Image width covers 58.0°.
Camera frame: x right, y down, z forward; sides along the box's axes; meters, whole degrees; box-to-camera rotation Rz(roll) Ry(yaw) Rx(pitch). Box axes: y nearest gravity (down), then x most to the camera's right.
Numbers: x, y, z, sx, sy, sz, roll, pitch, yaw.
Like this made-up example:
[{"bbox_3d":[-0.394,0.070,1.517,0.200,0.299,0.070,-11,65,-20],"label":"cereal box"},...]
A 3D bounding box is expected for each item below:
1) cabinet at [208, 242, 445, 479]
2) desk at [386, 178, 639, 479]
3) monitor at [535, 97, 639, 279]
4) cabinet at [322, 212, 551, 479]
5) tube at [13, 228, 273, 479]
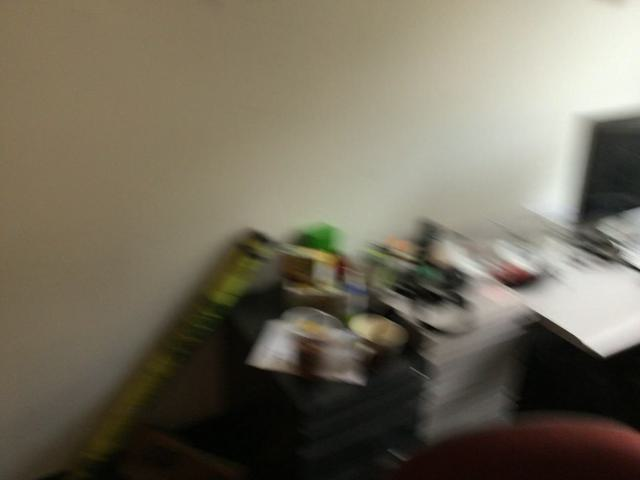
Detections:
[{"bbox_3d":[-0.010,0.480,1.710,0.410,0.710,0.570,-14,30,-25],"label":"cabinet"},{"bbox_3d":[1.190,0.280,2.170,1.680,0.660,0.800,-14,30,-25],"label":"desk"},{"bbox_3d":[1.040,-0.200,1.870,0.620,0.470,0.210,-14,30,-25],"label":"monitor"},{"bbox_3d":[0.320,0.380,1.860,0.420,0.730,0.530,-14,30,-25],"label":"cabinet"},{"bbox_3d":[-0.460,0.350,1.690,0.640,0.670,0.080,-14,30,-25],"label":"tube"}]
